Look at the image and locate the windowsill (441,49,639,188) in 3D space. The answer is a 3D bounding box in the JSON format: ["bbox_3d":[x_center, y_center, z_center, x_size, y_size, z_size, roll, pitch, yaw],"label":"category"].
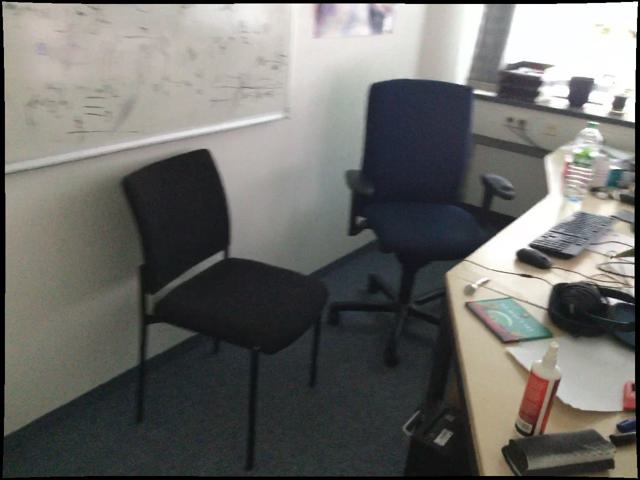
[{"bbox_3d":[2.198,-0.400,2.660,3.288,0.470,0.630,22,32,34],"label":"windowsill"}]

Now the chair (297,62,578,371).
[{"bbox_3d":[0.400,-0.160,2.450,0.749,1.011,0.770,-8,28,-21],"label":"chair"}]

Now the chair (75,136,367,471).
[{"bbox_3d":[-0.290,0.160,1.920,0.679,0.791,0.550,14,29,22],"label":"chair"}]
